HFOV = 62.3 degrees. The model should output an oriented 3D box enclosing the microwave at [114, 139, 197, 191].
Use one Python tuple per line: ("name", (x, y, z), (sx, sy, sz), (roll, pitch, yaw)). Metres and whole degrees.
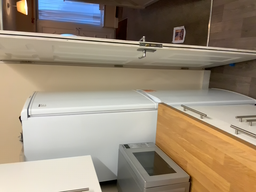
("microwave", (0.120, 0.500, 1.210), (0.460, 0.270, 0.330), (-148, 59, -68))
